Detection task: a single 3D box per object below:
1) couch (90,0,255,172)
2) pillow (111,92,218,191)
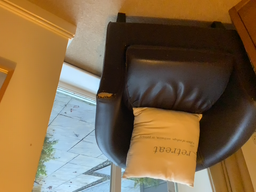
[{"bbox_3d":[0.200,-0.030,1.130,0.720,0.680,0.570,3,144,-6],"label":"couch"},{"bbox_3d":[0.190,0.250,1.100,0.440,0.390,0.110,22,168,-3],"label":"pillow"}]
